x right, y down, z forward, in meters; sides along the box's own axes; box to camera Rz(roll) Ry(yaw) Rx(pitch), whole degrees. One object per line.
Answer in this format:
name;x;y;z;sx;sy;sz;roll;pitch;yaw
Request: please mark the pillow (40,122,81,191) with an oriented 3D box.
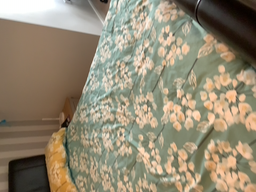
pillow;-0.660;0.620;2.000;0.640;0.200;0.390;60;137;40
